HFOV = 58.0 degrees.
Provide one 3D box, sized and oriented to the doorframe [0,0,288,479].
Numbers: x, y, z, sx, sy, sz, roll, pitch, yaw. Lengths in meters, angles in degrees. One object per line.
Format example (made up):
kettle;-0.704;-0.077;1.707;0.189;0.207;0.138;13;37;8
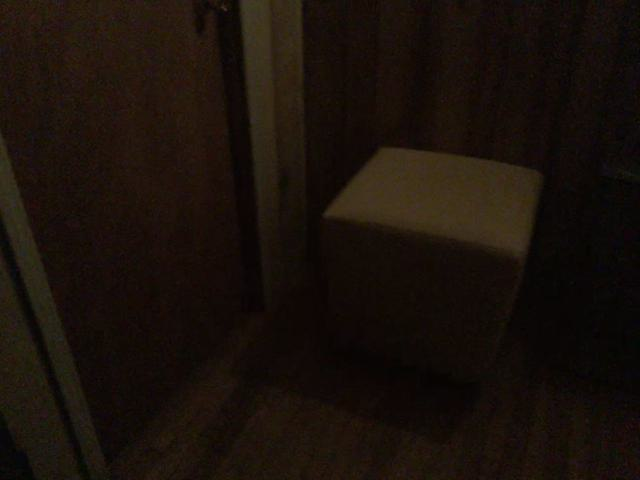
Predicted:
doorframe;-0.370;-0.430;1.170;0.140;2.100;0.920;12;29;23

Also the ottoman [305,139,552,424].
ottoman;0.320;0.080;1.730;0.560;0.580;0.500;12;29;23
